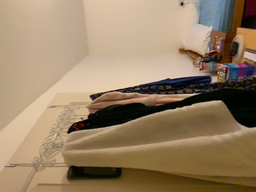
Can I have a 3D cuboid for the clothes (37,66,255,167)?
[{"bbox_3d":[0.410,0.030,0.880,0.580,1.320,0.160,-86,-5,-67],"label":"clothes"}]
